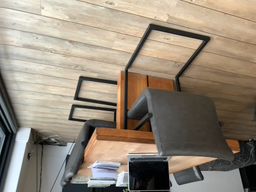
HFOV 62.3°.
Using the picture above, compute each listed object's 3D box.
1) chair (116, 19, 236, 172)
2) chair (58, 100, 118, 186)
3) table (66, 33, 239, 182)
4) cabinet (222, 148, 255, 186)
[{"bbox_3d":[0.250,0.040,1.540,0.520,0.880,0.580,9,151,-18],"label":"chair"},{"bbox_3d":[-0.470,0.590,2.570,0.580,0.880,0.510,8,151,-17],"label":"chair"},{"bbox_3d":[-0.060,0.440,2.420,1.010,0.780,2.190,8,151,-16],"label":"table"},{"bbox_3d":[2.750,1.650,4.900,0.800,0.730,0.500,7,151,-15],"label":"cabinet"}]
